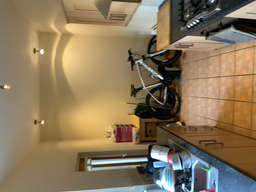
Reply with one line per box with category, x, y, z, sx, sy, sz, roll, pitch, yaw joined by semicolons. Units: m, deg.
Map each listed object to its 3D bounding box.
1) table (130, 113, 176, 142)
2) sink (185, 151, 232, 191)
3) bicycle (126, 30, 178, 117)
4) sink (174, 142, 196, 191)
table;0.520;0.670;4.660;0.600;0.850;0.520;-166;77;-78
sink;0.670;0.760;1.830;0.400;0.180;0.440;-166;77;-78
bicycle;0.480;-0.450;4.540;0.590;0.920;1.690;-157;69;-78
sink;0.570;0.730;2.140;0.250;0.100;0.460;-166;77;-78
